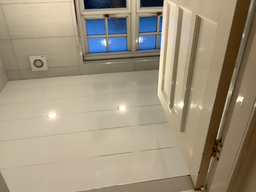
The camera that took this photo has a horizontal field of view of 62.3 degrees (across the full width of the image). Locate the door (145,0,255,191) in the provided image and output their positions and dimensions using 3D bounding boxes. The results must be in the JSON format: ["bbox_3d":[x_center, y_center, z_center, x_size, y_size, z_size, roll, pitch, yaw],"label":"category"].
[{"bbox_3d":[0.250,-0.670,0.740,0.110,2.130,1.010,-4,-149,-6],"label":"door"}]
